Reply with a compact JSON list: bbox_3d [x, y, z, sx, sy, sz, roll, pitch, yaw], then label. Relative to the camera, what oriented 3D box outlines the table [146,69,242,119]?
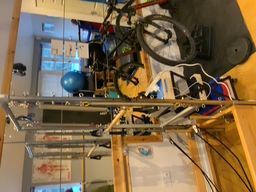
[{"bbox_3d":[0.590,0.010,2.000,0.460,0.690,0.290,129,139,-61],"label":"table"}]
